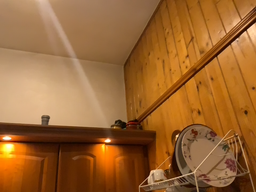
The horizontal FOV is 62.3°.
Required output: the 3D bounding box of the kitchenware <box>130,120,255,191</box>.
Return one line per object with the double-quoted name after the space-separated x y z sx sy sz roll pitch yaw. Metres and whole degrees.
0.240 0.390 0.960 0.260 0.390 0.520 6 -29 -20 "kitchenware"
